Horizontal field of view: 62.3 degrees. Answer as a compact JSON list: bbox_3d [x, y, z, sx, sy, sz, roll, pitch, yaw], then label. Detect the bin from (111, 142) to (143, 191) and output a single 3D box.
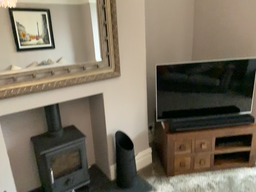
[{"bbox_3d":[-0.010,0.710,2.160,0.230,0.380,0.200,-15,21,-34],"label":"bin"}]
